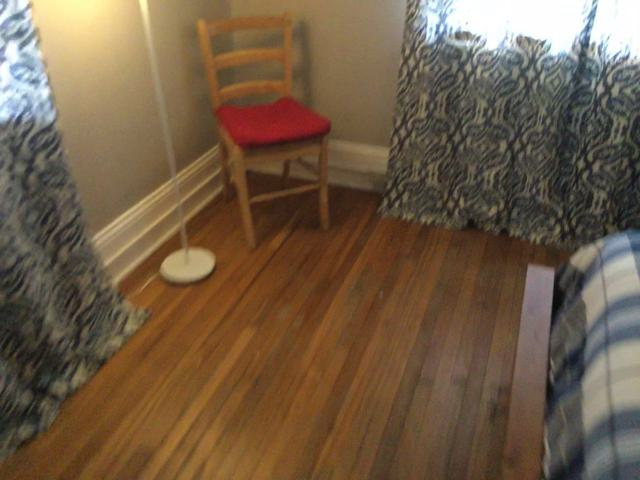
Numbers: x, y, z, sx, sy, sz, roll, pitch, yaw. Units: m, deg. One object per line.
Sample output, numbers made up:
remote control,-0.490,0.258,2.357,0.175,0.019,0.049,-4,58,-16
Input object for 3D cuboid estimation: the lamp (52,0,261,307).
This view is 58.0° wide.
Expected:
lamp,-0.550,-0.500,2.110,0.400,1.430,0.470,11,34,18

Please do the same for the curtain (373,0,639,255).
curtain,1.000,-0.930,2.120,1.540,2.050,0.220,11,34,18
